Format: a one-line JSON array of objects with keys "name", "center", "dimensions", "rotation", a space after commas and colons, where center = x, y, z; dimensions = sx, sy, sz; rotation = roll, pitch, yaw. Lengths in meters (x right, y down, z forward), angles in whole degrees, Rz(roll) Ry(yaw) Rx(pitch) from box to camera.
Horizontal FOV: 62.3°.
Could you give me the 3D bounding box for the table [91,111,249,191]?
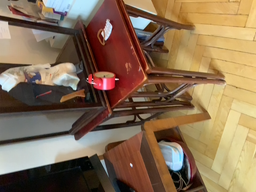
[{"name": "table", "center": [0.260, 0.510, 1.150], "dimensions": [0.430, 0.620, 0.690], "rotation": [-39, 64, 43]}]
